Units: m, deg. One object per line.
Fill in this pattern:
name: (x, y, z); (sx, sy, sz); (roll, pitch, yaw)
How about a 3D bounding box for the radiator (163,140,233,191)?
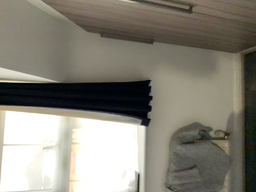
radiator: (0.550, 0.870, 1.650); (0.120, 0.560, 1.020); (167, 106, -72)
